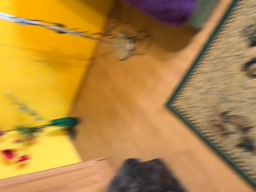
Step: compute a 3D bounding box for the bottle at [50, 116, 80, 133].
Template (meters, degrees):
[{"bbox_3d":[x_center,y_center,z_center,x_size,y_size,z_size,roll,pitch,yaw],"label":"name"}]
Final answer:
[{"bbox_3d":[-0.710,0.320,2.400,0.130,0.300,0.150,6,93,46],"label":"bottle"}]
